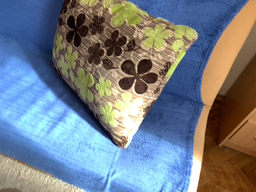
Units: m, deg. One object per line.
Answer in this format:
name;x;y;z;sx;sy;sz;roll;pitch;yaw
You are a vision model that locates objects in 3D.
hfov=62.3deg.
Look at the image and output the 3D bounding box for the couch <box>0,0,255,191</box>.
couch;-0.530;-0.300;1.100;1.980;0.850;1.010;20;50;7
